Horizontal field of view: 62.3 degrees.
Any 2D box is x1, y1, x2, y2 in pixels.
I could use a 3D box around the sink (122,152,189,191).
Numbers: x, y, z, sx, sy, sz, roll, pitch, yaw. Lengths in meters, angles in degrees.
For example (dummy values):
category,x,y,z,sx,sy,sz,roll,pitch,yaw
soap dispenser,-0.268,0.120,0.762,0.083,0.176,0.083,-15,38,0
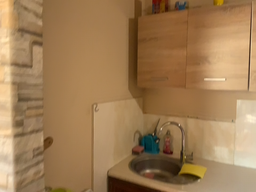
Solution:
category,x,y,z,sx,sy,sz,roll,pitch,yaw
sink,0.230,0.630,1.670,0.400,0.190,0.400,3,4,28
